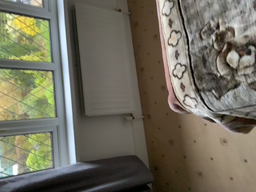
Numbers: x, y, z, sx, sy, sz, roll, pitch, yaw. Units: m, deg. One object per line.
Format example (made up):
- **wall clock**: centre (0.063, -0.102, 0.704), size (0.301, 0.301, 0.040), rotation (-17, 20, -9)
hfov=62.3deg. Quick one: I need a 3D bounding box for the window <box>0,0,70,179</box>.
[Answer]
- **window**: centre (-1.110, -0.330, 1.670), size (0.090, 1.110, 1.910), rotation (-23, 73, 52)
